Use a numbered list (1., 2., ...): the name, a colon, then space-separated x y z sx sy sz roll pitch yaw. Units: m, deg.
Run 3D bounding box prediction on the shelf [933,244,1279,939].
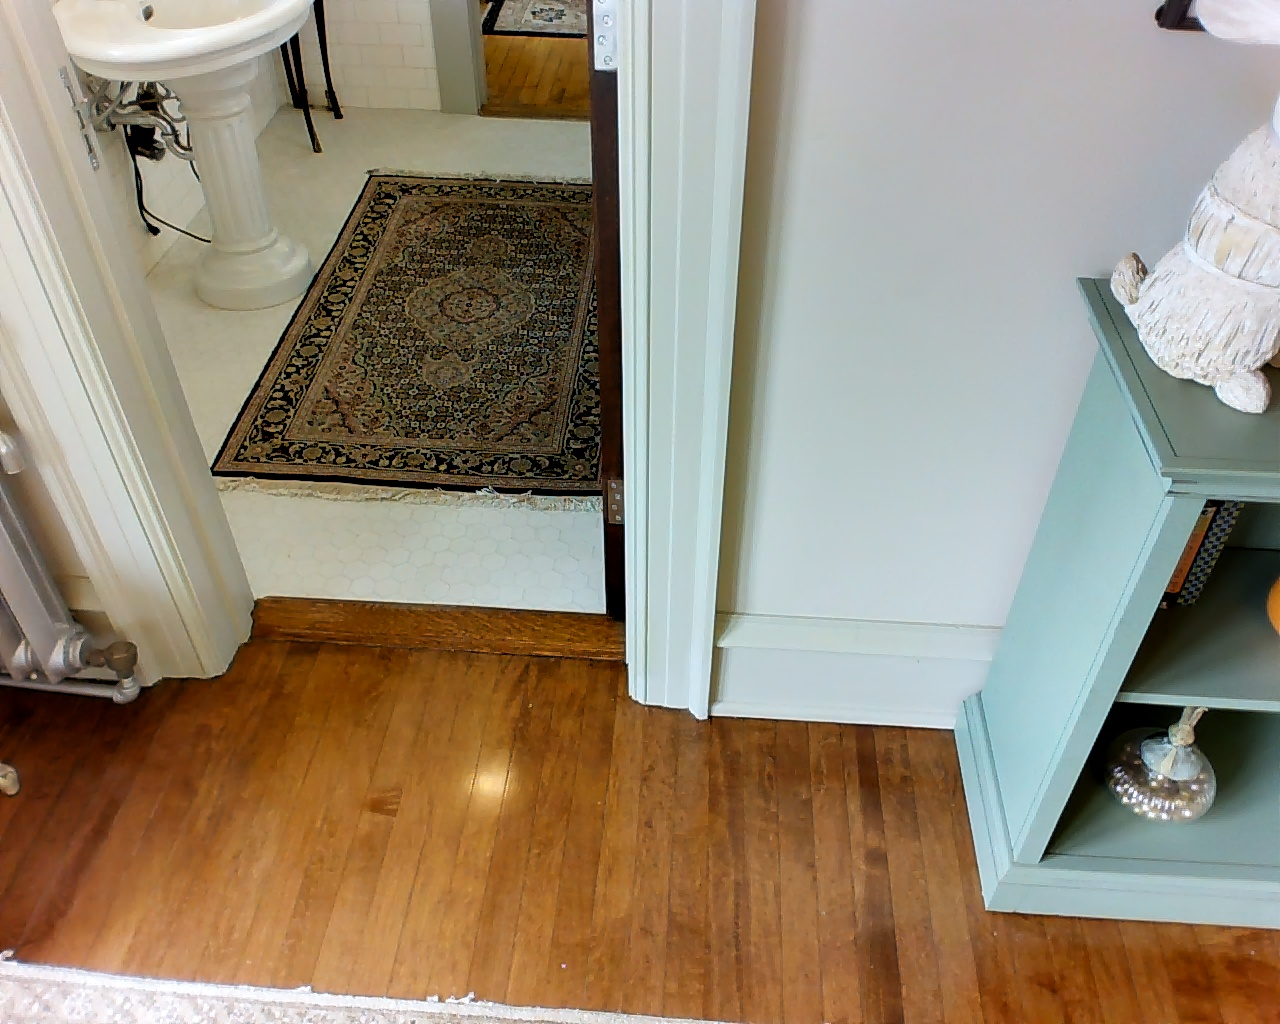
1. shelf: 1.010 0.170 1.480 0.980 0.930 0.410 3 42 3
